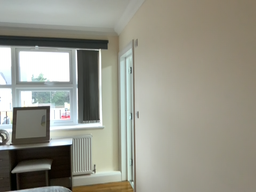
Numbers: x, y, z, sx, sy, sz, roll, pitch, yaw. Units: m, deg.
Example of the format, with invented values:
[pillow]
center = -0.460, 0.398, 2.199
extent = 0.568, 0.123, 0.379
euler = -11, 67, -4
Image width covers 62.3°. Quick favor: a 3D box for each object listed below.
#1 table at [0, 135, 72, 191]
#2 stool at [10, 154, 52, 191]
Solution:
[table]
center = -1.380, 0.990, 2.880
extent = 1.190, 0.760, 0.420
euler = -1, 2, -15
[stool]
center = -1.280, 1.110, 2.860
extent = 0.450, 0.510, 0.350
euler = -1, 2, -15
